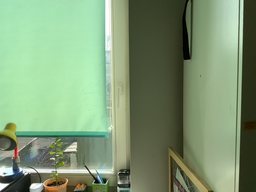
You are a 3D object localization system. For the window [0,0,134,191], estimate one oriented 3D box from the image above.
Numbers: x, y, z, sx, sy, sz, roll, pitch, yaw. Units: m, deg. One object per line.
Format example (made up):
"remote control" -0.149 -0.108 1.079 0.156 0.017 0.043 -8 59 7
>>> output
"window" -0.700 -0.130 1.260 1.460 1.550 0.120 0 3 0
